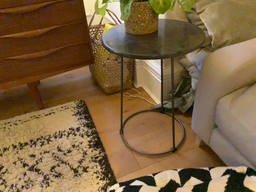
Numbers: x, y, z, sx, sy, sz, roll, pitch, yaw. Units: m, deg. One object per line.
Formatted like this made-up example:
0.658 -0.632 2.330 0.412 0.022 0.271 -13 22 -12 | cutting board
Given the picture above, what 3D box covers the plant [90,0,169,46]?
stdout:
-0.010 -0.370 0.880 0.220 0.180 0.310 -16 38 -16 | plant
